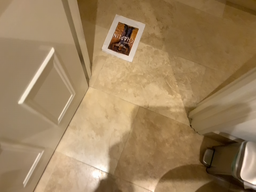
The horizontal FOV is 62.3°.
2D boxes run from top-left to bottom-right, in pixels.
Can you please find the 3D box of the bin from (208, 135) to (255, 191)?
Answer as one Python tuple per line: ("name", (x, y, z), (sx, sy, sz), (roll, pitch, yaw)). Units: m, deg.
("bin", (0.610, 0.350, 1.010), (0.270, 0.340, 0.210), (21, 73, 1))
